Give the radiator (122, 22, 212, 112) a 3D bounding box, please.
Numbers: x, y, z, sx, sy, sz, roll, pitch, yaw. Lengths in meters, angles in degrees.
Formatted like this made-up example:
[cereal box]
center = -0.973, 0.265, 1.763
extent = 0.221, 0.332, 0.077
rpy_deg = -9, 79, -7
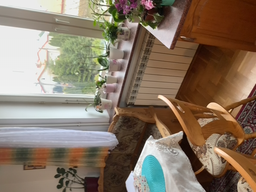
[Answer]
[radiator]
center = 0.390, -0.250, 2.350
extent = 0.200, 0.650, 0.970
rpy_deg = -115, 35, -47
